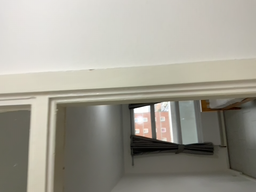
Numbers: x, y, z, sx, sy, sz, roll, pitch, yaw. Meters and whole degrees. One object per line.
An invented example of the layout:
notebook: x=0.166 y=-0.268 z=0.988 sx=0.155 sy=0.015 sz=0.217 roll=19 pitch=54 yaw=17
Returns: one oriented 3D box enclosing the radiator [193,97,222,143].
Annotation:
radiator: x=1.840 y=0.550 z=4.940 sx=0.070 sy=0.510 sz=1.050 roll=65 pitch=-158 yaw=-78
